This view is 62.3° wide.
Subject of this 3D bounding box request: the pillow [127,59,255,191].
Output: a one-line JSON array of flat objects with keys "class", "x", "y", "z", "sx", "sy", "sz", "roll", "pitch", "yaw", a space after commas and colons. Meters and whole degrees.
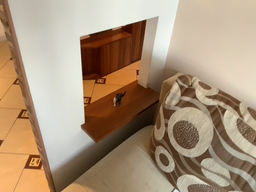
[{"class": "pillow", "x": 0.440, "y": 0.310, "z": 0.750, "sx": 0.890, "sy": 0.490, "sz": 0.300, "roll": 35, "pitch": 47, "yaw": 30}]
